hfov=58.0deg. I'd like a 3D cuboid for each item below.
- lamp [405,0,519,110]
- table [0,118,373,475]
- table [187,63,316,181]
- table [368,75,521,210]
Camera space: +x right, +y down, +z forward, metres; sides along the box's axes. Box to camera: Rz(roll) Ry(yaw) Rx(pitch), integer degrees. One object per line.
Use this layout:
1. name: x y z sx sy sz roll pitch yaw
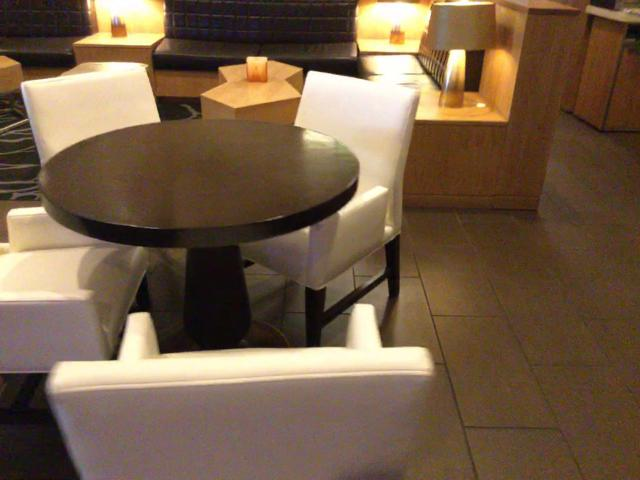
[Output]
1. lamp: 0.740 -1.030 3.130 0.460 0.550 0.410 -1 27 -1
2. table: -0.340 0.110 1.860 0.900 0.770 0.900 -1 27 -1
3. table: -0.400 -0.820 3.850 0.730 0.520 0.990 0 27 -1
4. table: 0.680 -0.630 3.500 0.670 0.530 0.990 -1 27 -1
